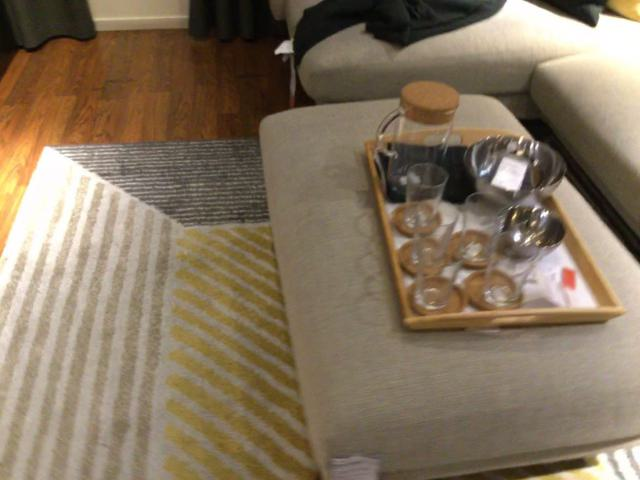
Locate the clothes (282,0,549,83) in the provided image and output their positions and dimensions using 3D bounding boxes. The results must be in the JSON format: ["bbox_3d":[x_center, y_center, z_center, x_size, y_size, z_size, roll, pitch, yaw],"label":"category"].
[{"bbox_3d":[0.290,-0.860,2.160,0.820,0.210,0.710,-4,41,-5],"label":"clothes"}]

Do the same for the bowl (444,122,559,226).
[{"bbox_3d":[0.370,-0.140,1.210,0.160,0.140,0.160,-4,41,-6],"label":"bowl"}]

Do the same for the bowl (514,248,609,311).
[{"bbox_3d":[0.430,0.070,1.040,0.120,0.060,0.100,0,41,-1],"label":"bowl"}]
